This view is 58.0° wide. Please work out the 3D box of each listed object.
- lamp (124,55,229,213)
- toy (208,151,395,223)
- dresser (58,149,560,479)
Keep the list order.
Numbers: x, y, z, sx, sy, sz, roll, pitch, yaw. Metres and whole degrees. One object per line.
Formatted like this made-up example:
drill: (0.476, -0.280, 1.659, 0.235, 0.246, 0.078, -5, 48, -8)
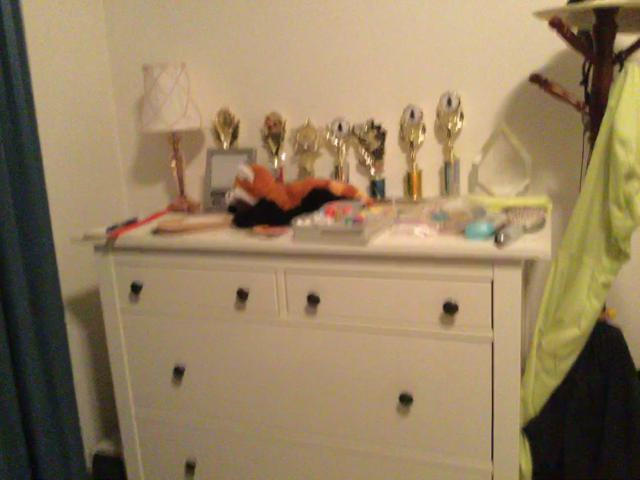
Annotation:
lamp: (-0.420, -0.310, 1.730, 0.180, 0.430, 0.210, 2, 12, 22)
toy: (-0.040, -0.140, 1.470, 0.410, 0.150, 0.230, 2, 12, 22)
dresser: (0.020, 0.530, 1.570, 1.120, 1.480, 0.550, 2, 12, 22)
